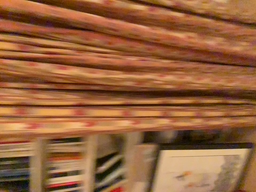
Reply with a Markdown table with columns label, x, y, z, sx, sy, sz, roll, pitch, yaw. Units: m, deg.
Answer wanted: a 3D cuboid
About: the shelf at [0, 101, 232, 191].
| label | x | y | z | sx | sy | sz | roll | pitch | yaw |
| --- | --- | --- | --- | --- | --- | --- | --- | --- | --- |
| shelf | -0.390 | 0.460 | 1.340 | 0.330 | 2.420 | 0.760 | 34 | 120 | 59 |
